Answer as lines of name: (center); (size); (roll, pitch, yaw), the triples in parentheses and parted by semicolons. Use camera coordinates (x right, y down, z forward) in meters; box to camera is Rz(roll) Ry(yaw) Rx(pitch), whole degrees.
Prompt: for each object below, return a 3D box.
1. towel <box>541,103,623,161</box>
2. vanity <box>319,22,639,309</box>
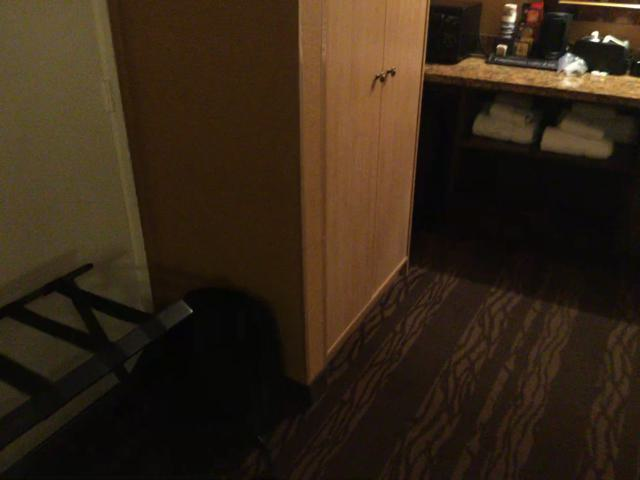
towel: (1.150, -0.480, 2.530); (0.270, 0.160, 0.340); (13, 26, 26)
vanity: (1.150, -0.390, 2.610); (2.220, 1.030, 0.730); (13, 26, 26)
